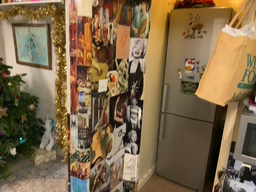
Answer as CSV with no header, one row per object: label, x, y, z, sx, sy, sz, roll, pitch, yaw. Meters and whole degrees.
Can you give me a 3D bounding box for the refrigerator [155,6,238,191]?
refrigerator,0.790,0.040,2.540,0.560,1.980,0.600,12,17,30
